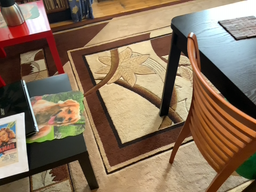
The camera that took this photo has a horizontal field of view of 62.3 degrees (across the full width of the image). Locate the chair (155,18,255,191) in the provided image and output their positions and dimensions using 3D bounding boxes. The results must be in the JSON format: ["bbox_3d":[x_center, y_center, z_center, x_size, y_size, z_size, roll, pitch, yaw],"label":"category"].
[{"bbox_3d":[0.450,0.180,0.970,0.450,0.900,0.400,-17,51,-13],"label":"chair"}]

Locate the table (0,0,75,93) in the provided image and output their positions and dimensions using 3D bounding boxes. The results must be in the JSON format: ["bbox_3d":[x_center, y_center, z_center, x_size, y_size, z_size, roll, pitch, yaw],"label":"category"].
[{"bbox_3d":[-0.890,-0.470,1.870,0.640,0.430,0.610,-17,50,-13],"label":"table"}]

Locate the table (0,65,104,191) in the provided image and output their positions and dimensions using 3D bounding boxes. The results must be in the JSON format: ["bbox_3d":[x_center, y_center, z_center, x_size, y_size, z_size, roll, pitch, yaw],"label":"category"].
[{"bbox_3d":[-0.500,0.230,1.220,0.550,0.470,0.540,-15,50,-12],"label":"table"}]
